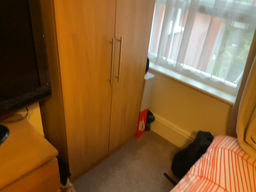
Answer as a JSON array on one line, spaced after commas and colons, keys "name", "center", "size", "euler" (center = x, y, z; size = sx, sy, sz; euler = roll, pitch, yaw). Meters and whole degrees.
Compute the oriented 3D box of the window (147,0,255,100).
[{"name": "window", "center": [0.580, -0.860, 1.370], "size": [0.810, 1.690, 0.060], "euler": [29, 38, 31]}]
